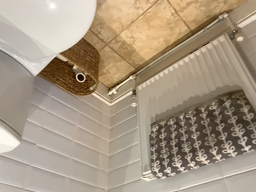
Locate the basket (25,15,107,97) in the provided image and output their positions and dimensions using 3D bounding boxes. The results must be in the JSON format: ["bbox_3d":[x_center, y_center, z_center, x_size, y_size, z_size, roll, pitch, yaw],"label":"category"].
[{"bbox_3d":[-0.350,-0.230,1.300,0.190,0.250,0.420,-31,131,30],"label":"basket"}]

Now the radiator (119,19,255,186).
[{"bbox_3d":[0.240,0.030,1.070,0.700,0.640,0.090,-31,132,29],"label":"radiator"}]
